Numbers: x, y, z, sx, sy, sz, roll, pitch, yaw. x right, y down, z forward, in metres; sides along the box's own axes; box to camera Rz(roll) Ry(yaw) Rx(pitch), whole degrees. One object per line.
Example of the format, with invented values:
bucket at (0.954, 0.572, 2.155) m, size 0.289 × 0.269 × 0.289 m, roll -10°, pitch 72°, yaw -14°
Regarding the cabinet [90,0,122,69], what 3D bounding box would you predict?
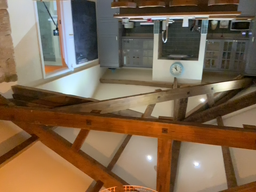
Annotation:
cabinet at (-0.610, -1.980, 6.150) m, size 0.680 × 2.270 × 0.670 m, roll 6°, pitch -161°, yaw 17°
